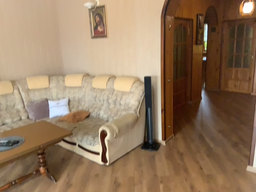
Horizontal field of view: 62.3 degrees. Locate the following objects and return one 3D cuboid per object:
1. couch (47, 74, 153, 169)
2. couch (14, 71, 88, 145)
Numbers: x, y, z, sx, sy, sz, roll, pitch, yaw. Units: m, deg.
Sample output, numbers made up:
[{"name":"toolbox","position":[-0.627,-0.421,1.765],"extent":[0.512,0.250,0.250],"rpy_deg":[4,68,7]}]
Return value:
[{"name":"couch","position":[-0.400,0.250,3.300],"extent":[1.190,0.990,1.040],"rpy_deg":[10,19,40]},{"name":"couch","position":[-1.310,0.120,3.990],"extent":[0.830,0.980,1.430],"rpy_deg":[-3,14,-3]}]
